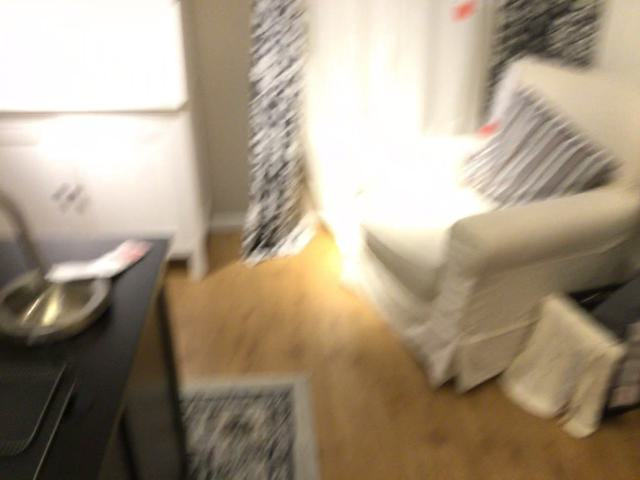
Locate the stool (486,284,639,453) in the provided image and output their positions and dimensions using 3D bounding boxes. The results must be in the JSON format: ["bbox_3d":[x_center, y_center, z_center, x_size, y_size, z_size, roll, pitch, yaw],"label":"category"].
[{"bbox_3d":[0.680,0.360,1.670,0.190,0.330,0.300,-10,29,-22],"label":"stool"}]
